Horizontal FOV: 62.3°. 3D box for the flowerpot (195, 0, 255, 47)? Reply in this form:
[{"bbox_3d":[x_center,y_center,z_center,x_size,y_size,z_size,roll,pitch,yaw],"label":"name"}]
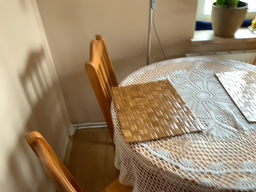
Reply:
[{"bbox_3d":[0.660,-0.550,1.470,0.280,0.340,0.210,-5,35,-3],"label":"flowerpot"}]

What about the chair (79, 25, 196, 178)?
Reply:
[{"bbox_3d":[0.060,0.070,1.380,0.520,0.900,0.430,-2,35,1],"label":"chair"}]
